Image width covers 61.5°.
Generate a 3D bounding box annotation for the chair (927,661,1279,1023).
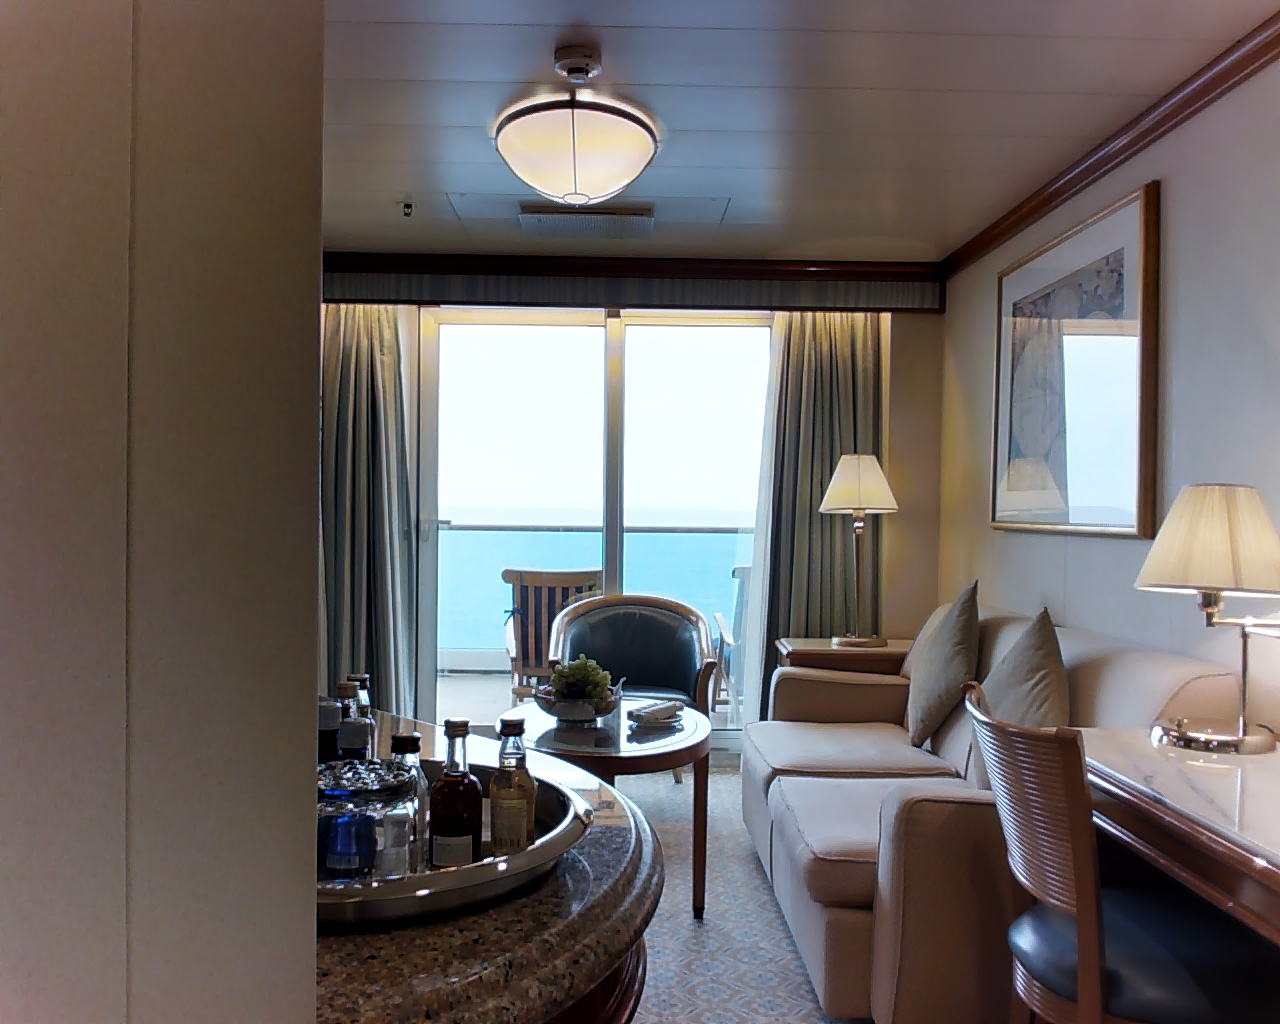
[{"bbox_3d":[0.900,0.730,1.800,0.660,0.870,0.620,0,0,-1],"label":"chair"}]
